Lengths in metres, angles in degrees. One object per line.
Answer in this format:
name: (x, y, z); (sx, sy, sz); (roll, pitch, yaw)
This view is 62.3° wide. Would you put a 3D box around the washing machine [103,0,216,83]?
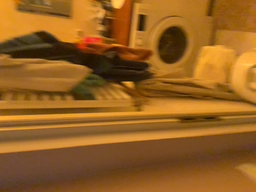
washing machine: (0.270, -0.550, 2.220); (0.690, 0.850, 0.660); (-144, 57, -62)
